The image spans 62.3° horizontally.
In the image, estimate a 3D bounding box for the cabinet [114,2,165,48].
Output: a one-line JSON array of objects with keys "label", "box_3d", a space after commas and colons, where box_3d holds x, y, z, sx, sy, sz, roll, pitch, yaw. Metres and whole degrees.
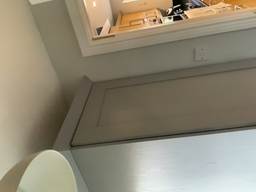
[{"label": "cabinet", "box_3d": [0.210, -1.390, 4.030, 1.100, 0.810, 0.440, -88, -12, -57]}]

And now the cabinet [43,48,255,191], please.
[{"label": "cabinet", "box_3d": [0.760, 0.150, 1.220, 0.670, 2.150, 0.620, -88, -12, -57]}]
